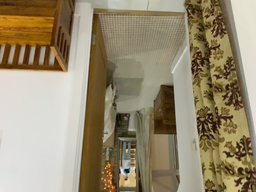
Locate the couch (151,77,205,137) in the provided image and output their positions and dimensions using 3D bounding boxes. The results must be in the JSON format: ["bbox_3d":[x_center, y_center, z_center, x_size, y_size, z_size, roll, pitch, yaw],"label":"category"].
[{"bbox_3d":[0.800,0.250,3.760,0.640,0.790,1.070,1,161,-1],"label":"couch"}]
